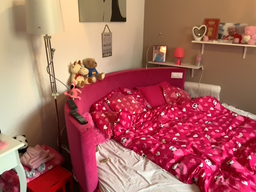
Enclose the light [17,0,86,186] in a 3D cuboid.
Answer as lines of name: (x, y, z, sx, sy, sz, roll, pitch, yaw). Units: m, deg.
light: (-0.650, 0.000, 1.920, 0.400, 1.660, 0.240, 15, 24, 33)
